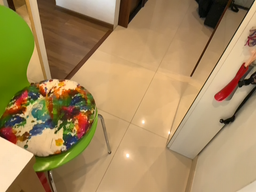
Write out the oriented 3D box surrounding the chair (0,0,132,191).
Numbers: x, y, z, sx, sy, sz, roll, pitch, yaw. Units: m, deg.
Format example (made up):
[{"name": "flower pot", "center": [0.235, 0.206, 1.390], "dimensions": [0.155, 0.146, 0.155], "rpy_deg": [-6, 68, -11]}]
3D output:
[{"name": "chair", "center": [-0.380, 0.050, 0.990], "dimensions": [0.530, 0.850, 0.470], "rpy_deg": [23, 51, 9]}]
